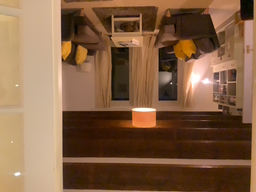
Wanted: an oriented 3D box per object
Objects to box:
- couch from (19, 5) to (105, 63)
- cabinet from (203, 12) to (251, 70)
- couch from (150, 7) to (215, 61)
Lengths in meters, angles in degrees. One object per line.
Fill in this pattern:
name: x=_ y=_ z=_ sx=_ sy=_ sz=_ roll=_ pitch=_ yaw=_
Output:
couch: x=-1.330 y=-1.300 z=4.970 sx=1.260 sy=0.810 sz=2.180 roll=0 pitch=-177 yaw=2
cabinet: x=2.240 y=-1.190 z=4.980 sx=0.460 sy=1.030 sz=1.470 roll=0 pitch=-177 yaw=2
couch: x=1.090 y=-1.280 z=4.720 sx=1.100 sy=0.810 sz=1.510 roll=0 pitch=-177 yaw=2
